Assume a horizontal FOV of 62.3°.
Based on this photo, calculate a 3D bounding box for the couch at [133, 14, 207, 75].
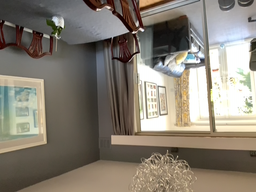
[{"bbox_3d":[1.090,-1.050,5.000,1.130,0.780,2.000,-4,177,28],"label":"couch"}]
